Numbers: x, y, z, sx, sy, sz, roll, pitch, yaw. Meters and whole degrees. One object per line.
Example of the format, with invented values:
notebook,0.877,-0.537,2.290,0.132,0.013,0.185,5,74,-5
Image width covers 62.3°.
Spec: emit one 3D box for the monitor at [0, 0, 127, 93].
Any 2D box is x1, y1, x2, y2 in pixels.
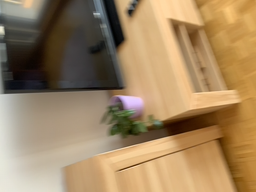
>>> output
monitor,-0.400,-0.500,1.220,0.080,0.610,0.970,-33,69,49
